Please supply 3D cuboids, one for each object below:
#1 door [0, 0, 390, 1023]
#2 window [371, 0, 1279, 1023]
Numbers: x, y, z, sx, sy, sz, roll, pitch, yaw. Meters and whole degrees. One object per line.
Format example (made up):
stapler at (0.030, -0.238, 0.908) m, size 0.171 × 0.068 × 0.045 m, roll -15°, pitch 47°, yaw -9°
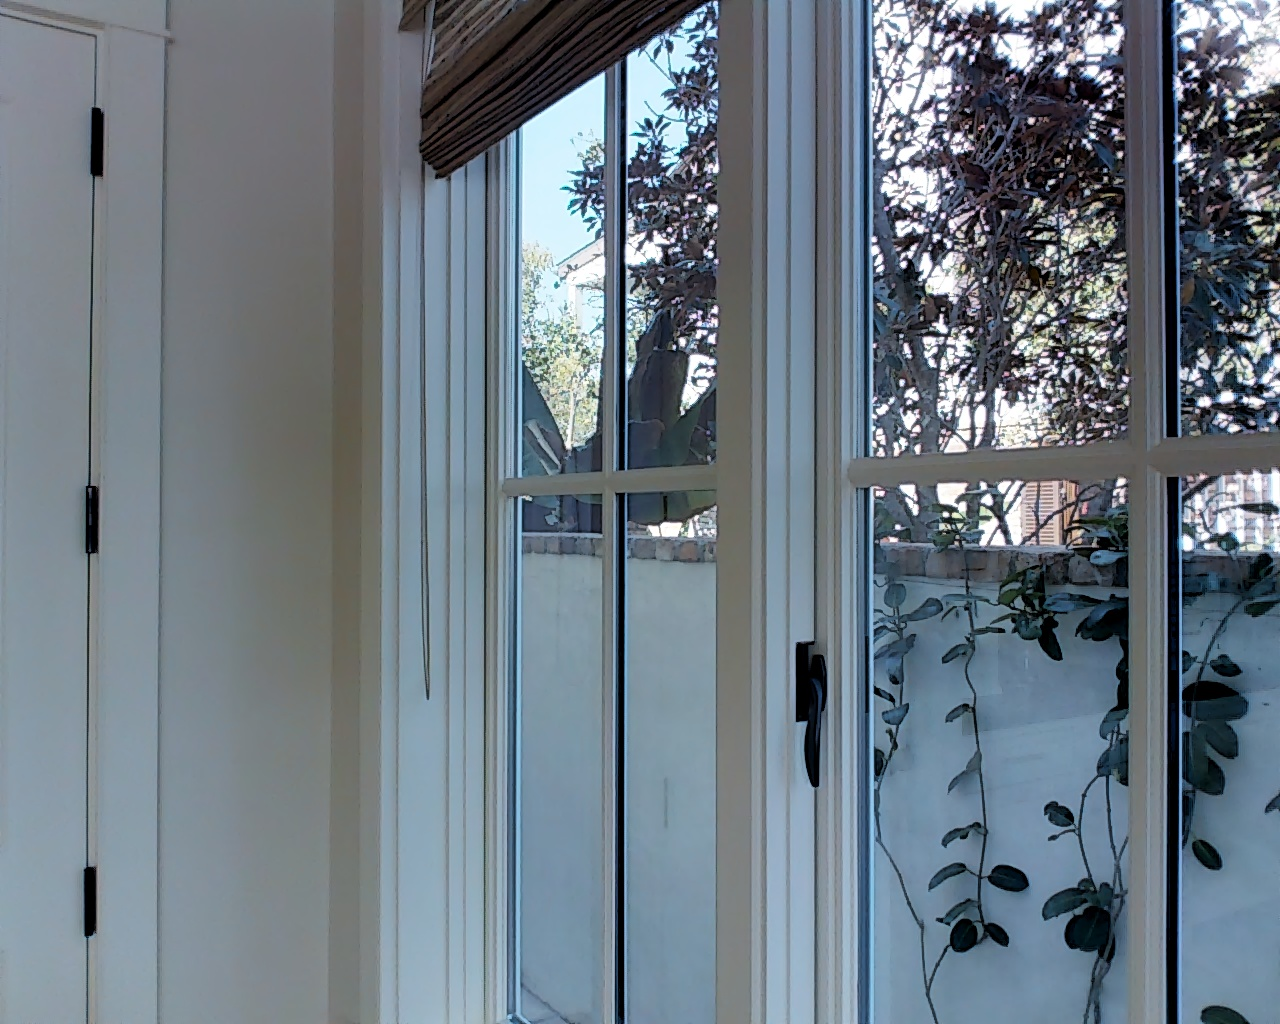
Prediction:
door at (-1.100, 0.130, 1.550) m, size 1.480 × 2.771 × 0.090 m, roll 1°, pitch -1°, yaw -33°
window at (0.130, -0.020, 1.070) m, size 0.270 × 1.911 × 1.590 m, roll 1°, pitch -1°, yaw -33°
